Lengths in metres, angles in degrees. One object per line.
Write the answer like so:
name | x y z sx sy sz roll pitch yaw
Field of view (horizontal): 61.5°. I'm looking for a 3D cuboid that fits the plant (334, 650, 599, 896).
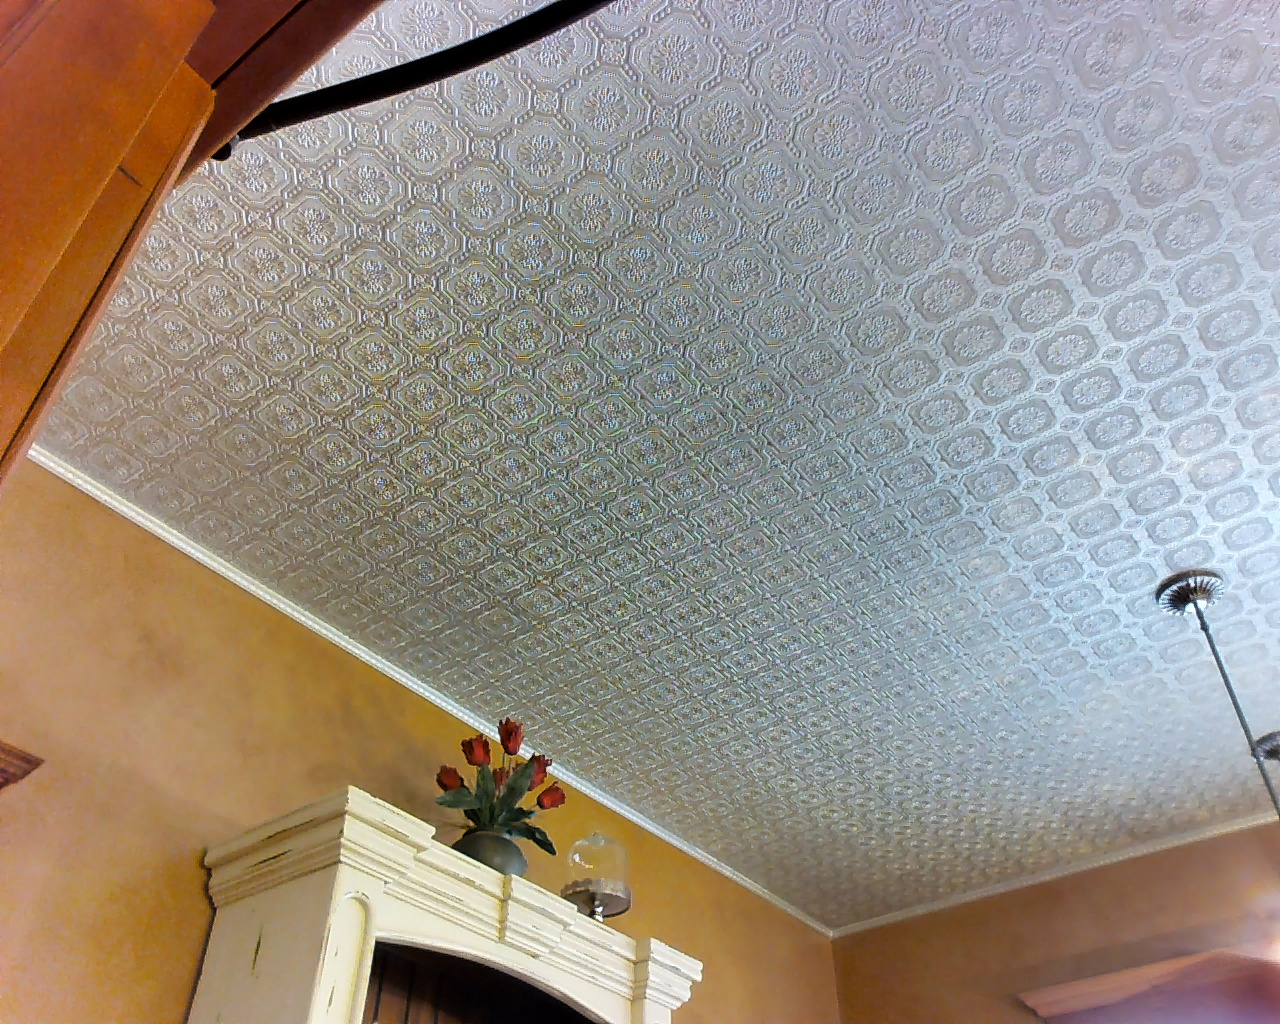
plant | -0.400 0.640 2.590 0.450 0.340 0.390 -25 -48 25
